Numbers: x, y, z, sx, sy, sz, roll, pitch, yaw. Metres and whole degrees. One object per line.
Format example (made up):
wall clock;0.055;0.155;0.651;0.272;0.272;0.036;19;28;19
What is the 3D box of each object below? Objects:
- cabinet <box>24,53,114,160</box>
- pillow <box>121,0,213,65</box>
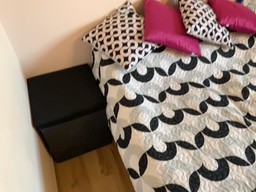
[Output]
cabinet;-0.370;0.060;1.400;0.400;0.440;0.420;-19;49;-17
pillow;0.210;-0.420;1.270;0.370;0.200;0.370;-20;49;-18
